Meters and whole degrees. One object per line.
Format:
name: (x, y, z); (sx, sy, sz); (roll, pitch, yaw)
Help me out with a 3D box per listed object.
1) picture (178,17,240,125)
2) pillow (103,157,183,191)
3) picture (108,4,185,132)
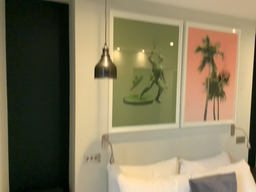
picture: (0.860, -0.240, 2.220); (0.750, 1.040, 0.050); (-1, 5, -25)
pillow: (0.130, 0.750, 1.800); (0.620, 0.330, 0.170); (-6, -10, -19)
picture: (0.180, -0.230, 1.950); (0.720, 1.050, 0.100); (-1, 5, -23)
